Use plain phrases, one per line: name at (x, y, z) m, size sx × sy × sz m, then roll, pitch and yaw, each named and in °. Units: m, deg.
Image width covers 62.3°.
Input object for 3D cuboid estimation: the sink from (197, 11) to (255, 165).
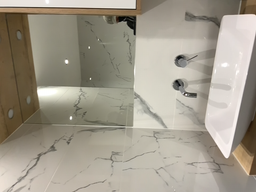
sink at (0.470, -0.060, 0.980) m, size 0.400 × 0.110 × 0.600 m, roll -85°, pitch -4°, yaw -71°
